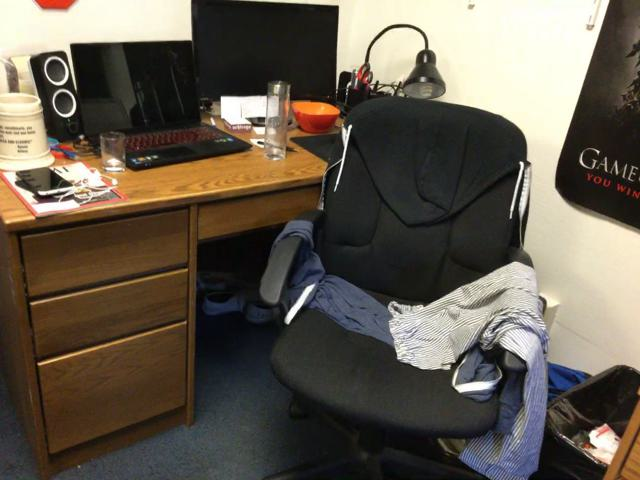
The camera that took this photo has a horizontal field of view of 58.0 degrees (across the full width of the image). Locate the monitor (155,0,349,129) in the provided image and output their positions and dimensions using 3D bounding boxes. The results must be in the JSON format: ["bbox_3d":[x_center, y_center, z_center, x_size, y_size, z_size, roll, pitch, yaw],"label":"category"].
[{"bbox_3d":[-0.220,-0.590,1.930,0.620,0.360,0.170,-13,33,-36],"label":"monitor"}]
